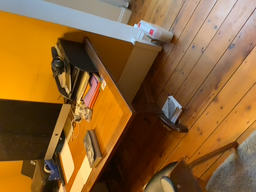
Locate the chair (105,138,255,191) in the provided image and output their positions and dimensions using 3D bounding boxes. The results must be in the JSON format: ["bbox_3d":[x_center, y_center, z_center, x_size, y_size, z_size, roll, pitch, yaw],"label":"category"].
[{"bbox_3d":[0.320,0.620,1.130,0.580,0.720,0.490,-57,45,35],"label":"chair"}]
